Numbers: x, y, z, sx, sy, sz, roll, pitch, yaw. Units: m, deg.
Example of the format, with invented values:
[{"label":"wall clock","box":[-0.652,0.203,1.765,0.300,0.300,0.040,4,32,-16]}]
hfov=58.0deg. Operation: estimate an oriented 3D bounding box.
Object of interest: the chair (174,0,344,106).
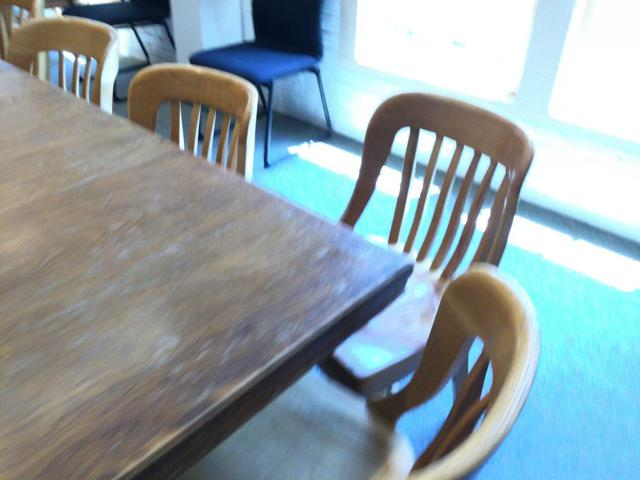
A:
[{"label":"chair","box":[-0.280,-1.010,2.760,0.510,0.470,0.600,29,43,34]}]
